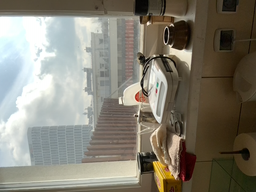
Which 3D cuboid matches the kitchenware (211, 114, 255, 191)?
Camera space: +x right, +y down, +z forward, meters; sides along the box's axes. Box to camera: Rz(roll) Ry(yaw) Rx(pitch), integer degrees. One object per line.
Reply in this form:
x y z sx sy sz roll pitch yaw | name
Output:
0.490 0.190 0.770 0.240 0.260 0.180 -118 27 -76 | kitchenware

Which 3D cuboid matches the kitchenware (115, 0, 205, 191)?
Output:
0.080 0.150 0.940 0.350 0.250 1.080 -110 20 -72 | kitchenware
